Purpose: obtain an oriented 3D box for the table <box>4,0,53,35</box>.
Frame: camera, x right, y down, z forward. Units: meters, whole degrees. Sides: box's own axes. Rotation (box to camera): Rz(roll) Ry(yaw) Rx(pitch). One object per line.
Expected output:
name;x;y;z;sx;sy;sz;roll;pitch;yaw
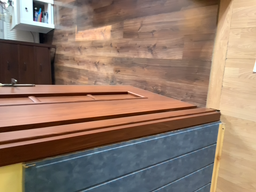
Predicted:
table;-1.690;-1.420;3.590;0.430;0.640;0.550;-5;88;49
